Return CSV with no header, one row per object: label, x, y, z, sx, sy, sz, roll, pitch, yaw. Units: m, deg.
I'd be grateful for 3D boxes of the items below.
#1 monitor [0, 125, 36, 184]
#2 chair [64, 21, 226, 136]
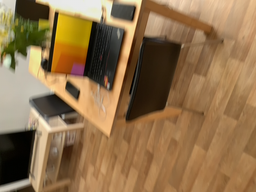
monitor,-1.320,0.680,2.410,0.040,0.440,0.720,32,114,39
chair,0.140,-0.120,1.280,0.450,0.850,0.400,30,113,40
